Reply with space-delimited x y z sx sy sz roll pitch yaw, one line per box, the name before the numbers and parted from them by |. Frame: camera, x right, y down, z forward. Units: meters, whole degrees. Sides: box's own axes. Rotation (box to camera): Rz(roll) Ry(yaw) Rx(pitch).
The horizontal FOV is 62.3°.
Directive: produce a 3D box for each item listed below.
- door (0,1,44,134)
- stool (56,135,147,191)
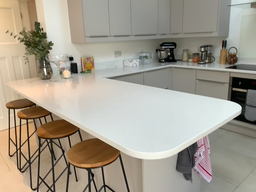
door | -1.910 -0.420 3.350 0.110 1.980 0.890 13 21 43
stool | -0.160 0.700 1.410 0.390 0.680 0.420 -16 21 -41
